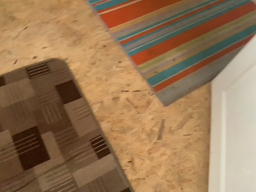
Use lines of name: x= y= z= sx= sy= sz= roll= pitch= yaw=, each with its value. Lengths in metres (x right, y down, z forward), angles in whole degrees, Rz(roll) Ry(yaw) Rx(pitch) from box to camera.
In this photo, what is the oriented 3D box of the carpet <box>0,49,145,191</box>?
carpet: x=-0.340 y=0.400 z=0.900 sx=0.700 sy=0.050 sz=1.290 roll=-27 pitch=70 yaw=-19
